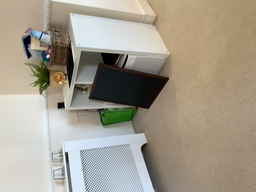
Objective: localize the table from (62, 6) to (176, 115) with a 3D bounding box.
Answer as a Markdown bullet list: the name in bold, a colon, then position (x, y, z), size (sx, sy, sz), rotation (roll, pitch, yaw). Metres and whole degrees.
- **table**: position (-0.150, -0.270, 1.970), size (0.820, 0.770, 0.460), rotation (115, 145, -44)

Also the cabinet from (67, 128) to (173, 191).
- **cabinet**: position (-0.040, 0.800, 1.780), size (0.210, 0.770, 1.070), rotation (114, 146, -43)
